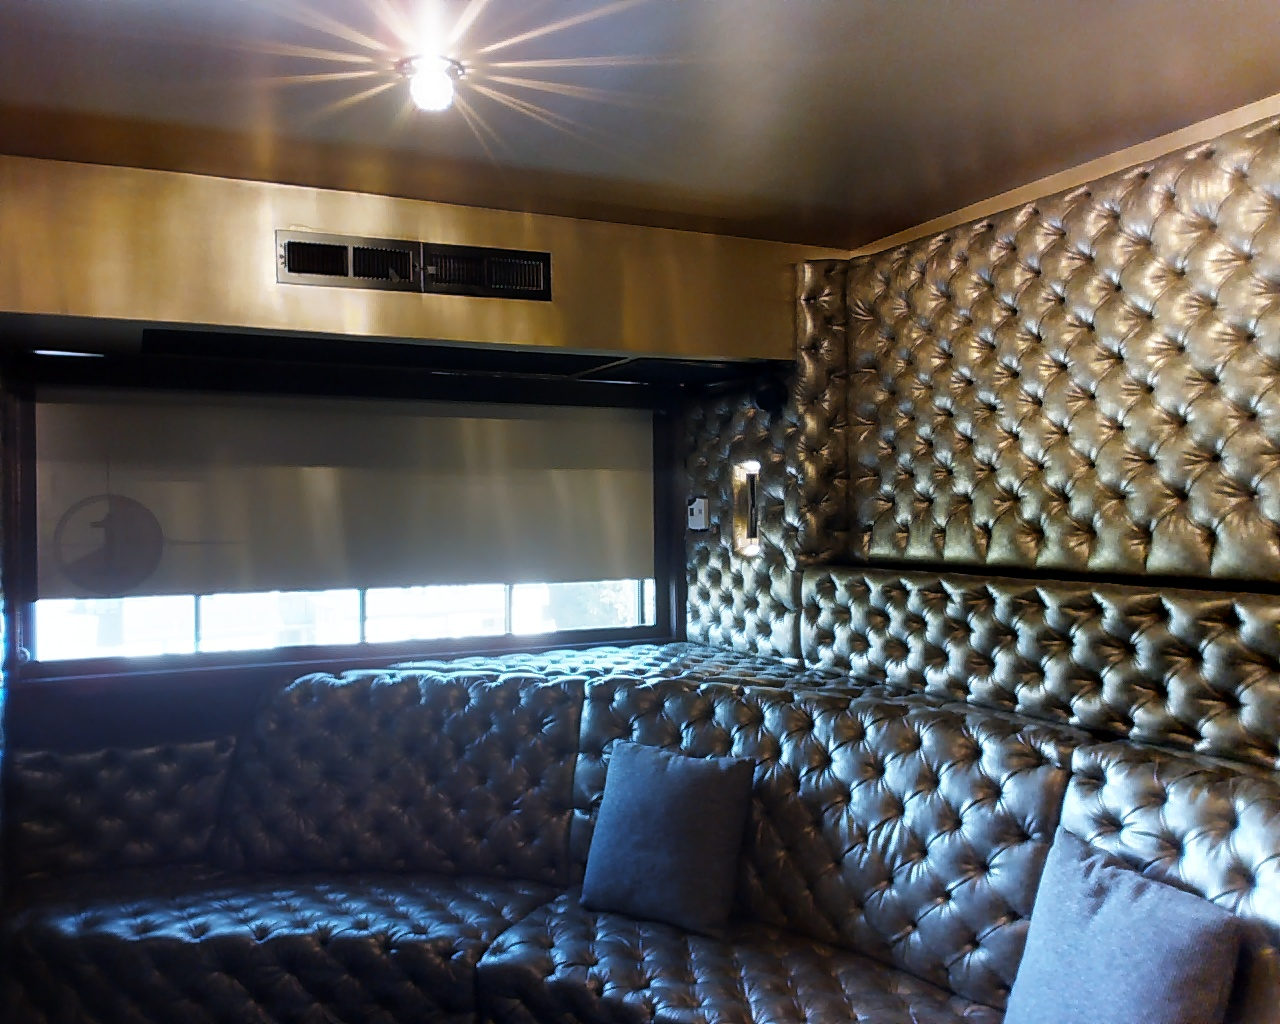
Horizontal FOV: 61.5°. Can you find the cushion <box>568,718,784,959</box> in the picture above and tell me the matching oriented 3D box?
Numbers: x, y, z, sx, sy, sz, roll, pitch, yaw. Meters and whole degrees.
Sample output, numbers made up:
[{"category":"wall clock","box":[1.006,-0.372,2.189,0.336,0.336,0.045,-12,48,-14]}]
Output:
[{"category":"cushion","box":[0.100,0.940,3.180,0.530,0.540,0.190,7,-7,40]}]

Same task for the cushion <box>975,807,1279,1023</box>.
[{"category":"cushion","box":[0.960,0.920,2.110,0.270,0.530,0.520,11,-5,-19]}]
